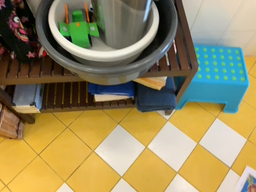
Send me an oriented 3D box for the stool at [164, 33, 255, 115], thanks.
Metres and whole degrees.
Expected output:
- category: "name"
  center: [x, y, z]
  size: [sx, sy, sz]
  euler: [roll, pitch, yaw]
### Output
- category: "stool"
  center: [0.440, -0.120, 1.210]
  size: [0.420, 0.240, 0.360]
  euler: [4, 65, -1]
